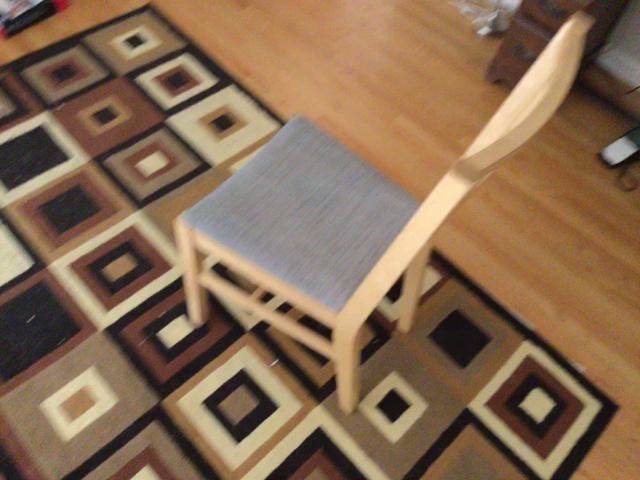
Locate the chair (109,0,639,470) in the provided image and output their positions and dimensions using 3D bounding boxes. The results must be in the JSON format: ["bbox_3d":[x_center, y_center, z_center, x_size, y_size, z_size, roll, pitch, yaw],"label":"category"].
[{"bbox_3d":[0.060,-0.040,1.210,0.630,0.940,0.500,34,58,15],"label":"chair"}]
